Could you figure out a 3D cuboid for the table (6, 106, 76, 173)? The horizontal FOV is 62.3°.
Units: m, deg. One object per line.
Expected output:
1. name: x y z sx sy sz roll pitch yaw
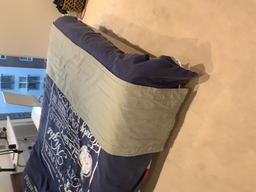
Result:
1. table: -1.330 0.580 3.170 0.840 0.750 0.490 39 121 45
